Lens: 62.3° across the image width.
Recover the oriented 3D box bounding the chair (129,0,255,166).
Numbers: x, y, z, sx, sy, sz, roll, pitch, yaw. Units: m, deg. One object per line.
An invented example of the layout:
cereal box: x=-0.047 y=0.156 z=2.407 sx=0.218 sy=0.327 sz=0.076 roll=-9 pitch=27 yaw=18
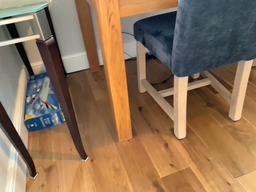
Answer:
chair: x=0.360 y=-0.360 z=0.990 sx=0.520 sy=1.100 sz=0.690 roll=-14 pitch=38 yaw=-12
